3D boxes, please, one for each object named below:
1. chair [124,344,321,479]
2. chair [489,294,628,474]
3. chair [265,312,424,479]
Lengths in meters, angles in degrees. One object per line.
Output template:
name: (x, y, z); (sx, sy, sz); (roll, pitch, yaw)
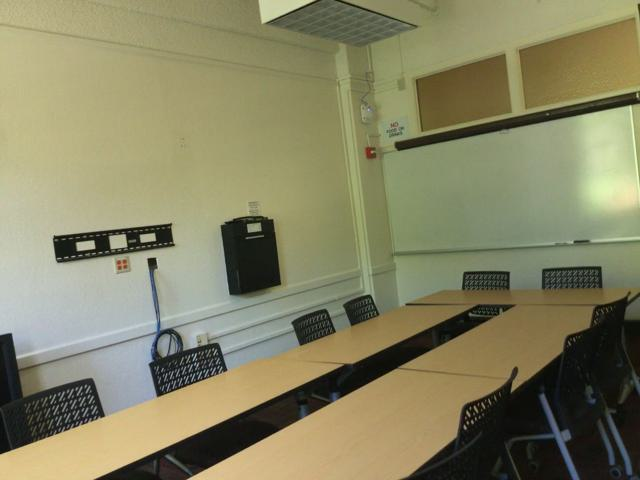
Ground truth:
chair: (-0.430, 0.970, 2.690); (0.540, 0.790, 0.640); (-4, 4, 41)
chair: (1.310, 0.720, 3.140); (0.490, 0.750, 0.650); (-4, 4, 37)
chair: (0.150, 0.860, 3.330); (0.630, 0.770, 0.560); (-4, 4, 37)
